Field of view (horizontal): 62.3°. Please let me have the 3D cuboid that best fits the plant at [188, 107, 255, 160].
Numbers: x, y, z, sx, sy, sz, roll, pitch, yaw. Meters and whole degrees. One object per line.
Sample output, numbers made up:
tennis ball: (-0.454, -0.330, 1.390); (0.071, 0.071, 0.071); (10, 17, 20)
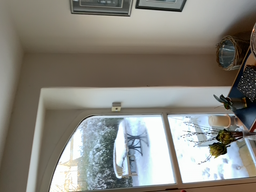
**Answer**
plant: (0.960, 0.360, 2.030); (0.390, 0.560, 0.350); (105, 161, -55)
